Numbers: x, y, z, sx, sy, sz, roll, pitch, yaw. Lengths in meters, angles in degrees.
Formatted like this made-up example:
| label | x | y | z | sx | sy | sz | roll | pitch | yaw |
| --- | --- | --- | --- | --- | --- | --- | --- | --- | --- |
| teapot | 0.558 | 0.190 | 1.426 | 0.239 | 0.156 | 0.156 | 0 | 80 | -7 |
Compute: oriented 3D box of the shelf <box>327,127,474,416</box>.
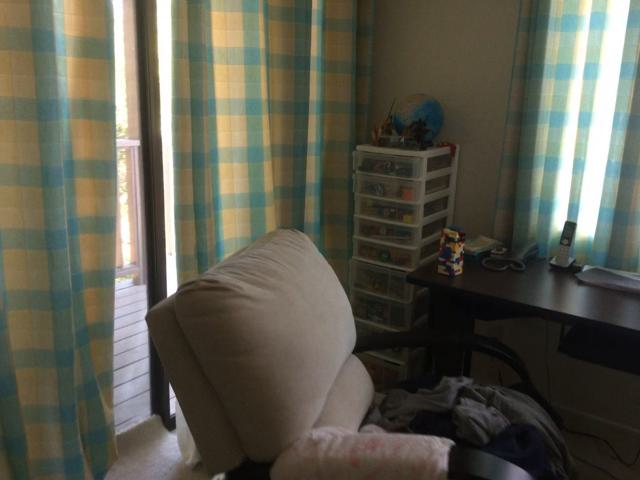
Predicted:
| label | x | y | z | sx | sy | sz | roll | pitch | yaw |
| --- | --- | --- | --- | --- | --- | --- | --- | --- | --- |
| shelf | 0.350 | 0.100 | 2.610 | 0.460 | 1.170 | 0.440 | 10 | 17 | 35 |

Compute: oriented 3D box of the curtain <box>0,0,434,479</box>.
| label | x | y | z | sx | sy | sz | roll | pitch | yaw |
| --- | --- | --- | --- | --- | --- | --- | --- | --- | --- |
| curtain | -0.450 | 0.000 | 1.880 | 0.510 | 1.750 | 2.480 | 10 | 17 | 35 |
